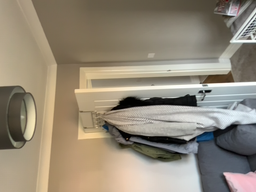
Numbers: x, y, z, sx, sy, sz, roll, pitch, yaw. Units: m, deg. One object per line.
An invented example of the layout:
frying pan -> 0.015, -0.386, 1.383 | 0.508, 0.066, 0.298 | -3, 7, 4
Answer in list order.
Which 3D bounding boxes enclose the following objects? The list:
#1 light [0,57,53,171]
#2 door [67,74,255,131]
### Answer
light -> -0.650, 0.100, 0.990 | 0.410, 0.400, 0.410 | -29, 56, 39
door -> 0.490, 0.090, 2.180 | 0.810, 2.030, 0.110 | 98, 168, -59
